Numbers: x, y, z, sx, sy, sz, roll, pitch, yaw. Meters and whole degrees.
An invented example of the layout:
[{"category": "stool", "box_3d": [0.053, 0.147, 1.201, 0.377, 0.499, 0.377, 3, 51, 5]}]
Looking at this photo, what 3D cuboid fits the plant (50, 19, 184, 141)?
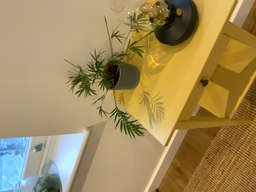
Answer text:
[{"category": "plant", "box_3d": [-0.050, -0.050, 0.670, 0.260, 0.260, 0.250, 42, 118, 43]}]
